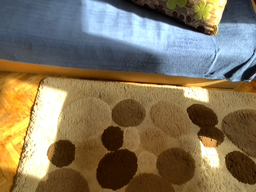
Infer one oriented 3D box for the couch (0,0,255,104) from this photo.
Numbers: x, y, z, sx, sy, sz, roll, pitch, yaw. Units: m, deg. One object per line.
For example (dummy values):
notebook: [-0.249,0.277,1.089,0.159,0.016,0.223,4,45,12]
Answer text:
couch: [-0.190,-0.690,1.240,2.020,0.850,1.040,4,59,-3]
